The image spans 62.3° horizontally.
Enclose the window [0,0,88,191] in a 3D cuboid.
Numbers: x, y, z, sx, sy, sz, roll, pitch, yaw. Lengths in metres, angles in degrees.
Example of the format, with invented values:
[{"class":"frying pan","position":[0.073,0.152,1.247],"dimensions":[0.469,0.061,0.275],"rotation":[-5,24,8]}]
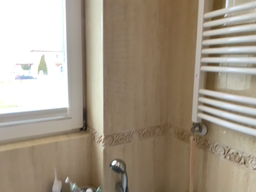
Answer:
[{"class":"window","position":[-0.570,-0.200,0.850],"dimensions":[0.770,1.510,0.200],"rotation":[-5,12,-32]}]
